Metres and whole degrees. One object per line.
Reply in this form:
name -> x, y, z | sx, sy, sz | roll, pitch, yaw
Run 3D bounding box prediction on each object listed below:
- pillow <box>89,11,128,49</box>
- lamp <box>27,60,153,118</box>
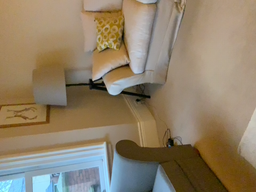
pillow -> -0.210, -0.750, 2.410 | 0.180, 0.310, 0.350 | -13, 99, 40
lamp -> -0.490, -0.140, 2.870 | 0.500, 1.500, 0.530 | -122, 33, -55
